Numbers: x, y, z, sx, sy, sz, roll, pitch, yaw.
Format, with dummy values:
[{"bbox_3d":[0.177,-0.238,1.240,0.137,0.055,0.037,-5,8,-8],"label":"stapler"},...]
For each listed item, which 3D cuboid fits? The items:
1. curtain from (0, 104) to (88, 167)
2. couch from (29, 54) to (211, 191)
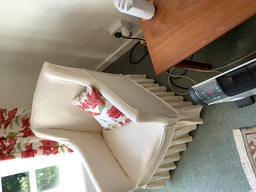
[{"bbox_3d":[-1.000,0.310,1.490,0.210,1.420,0.390,-31,68,47],"label":"curtain"},{"bbox_3d":[-0.120,0.210,1.510,0.840,0.830,0.650,42,122,41],"label":"couch"}]
